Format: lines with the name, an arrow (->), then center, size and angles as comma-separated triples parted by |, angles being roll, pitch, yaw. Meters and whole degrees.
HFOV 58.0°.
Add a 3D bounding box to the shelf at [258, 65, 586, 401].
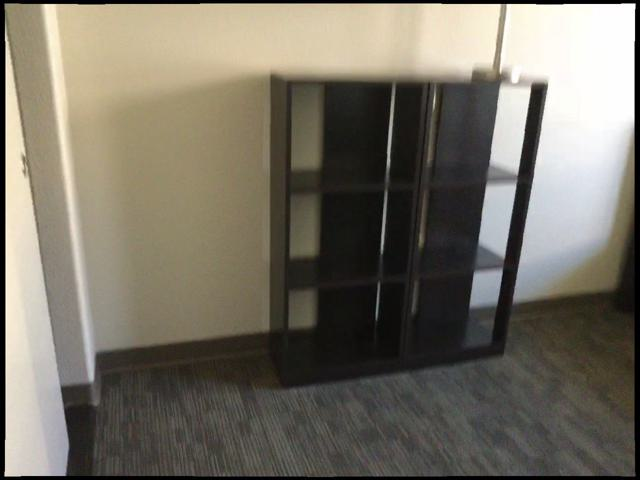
shelf -> 0.359, -0.070, 2.430 | 1.158, 1.232, 0.460 | -5, 24, -18
